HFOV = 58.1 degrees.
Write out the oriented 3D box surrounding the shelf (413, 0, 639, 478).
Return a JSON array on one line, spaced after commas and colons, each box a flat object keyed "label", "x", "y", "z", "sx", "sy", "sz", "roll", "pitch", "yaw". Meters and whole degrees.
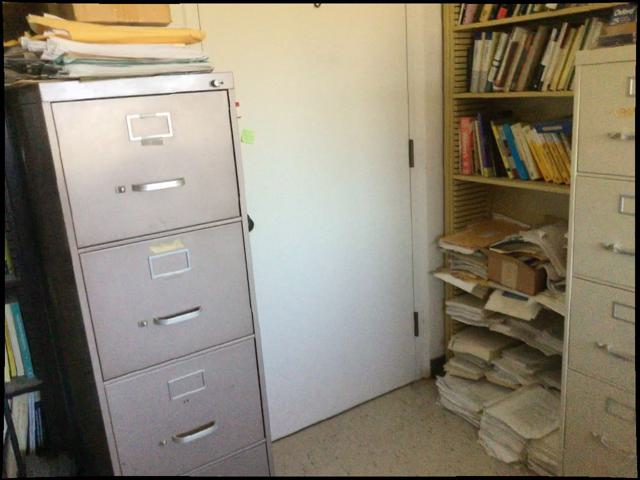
[{"label": "shelf", "x": 0.898, "y": -0.271, "z": 2.260, "sx": 0.429, "sy": 1.975, "sz": 1.049, "roll": -14, "pitch": 19, "yaw": -32}]
